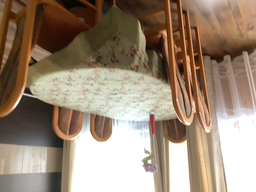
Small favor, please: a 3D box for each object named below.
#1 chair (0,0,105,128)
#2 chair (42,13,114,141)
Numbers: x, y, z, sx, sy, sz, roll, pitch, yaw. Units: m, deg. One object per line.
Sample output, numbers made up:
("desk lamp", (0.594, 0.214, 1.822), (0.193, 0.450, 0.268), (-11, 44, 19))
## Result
("chair", (-0.480, -0.360, 1.320), (0.460, 1.010, 0.490), (-14, 159, 34))
("chair", (-0.440, -0.140, 1.960), (0.490, 1.030, 0.370), (-14, 159, 35))
